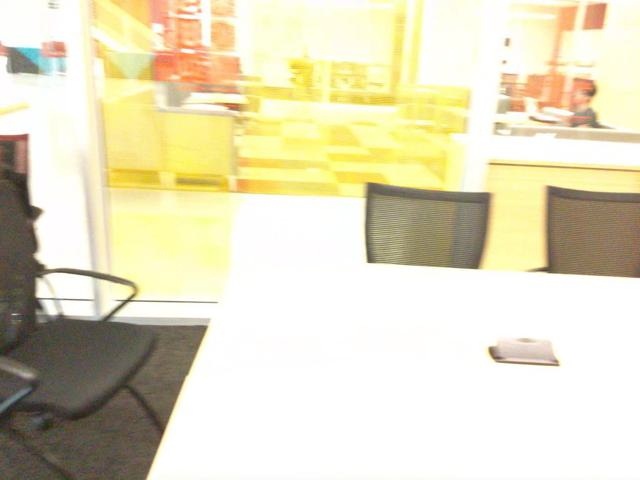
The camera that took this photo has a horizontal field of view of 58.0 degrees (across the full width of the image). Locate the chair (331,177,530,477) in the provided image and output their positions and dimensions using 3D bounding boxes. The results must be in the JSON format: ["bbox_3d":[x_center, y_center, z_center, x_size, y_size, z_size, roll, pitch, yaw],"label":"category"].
[{"bbox_3d":[0.320,0.270,2.020,0.480,0.850,0.560,4,17,-2],"label":"chair"}]

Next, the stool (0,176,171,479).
[{"bbox_3d":[-0.830,0.340,1.760,0.570,0.920,0.590,6,17,3],"label":"stool"}]
